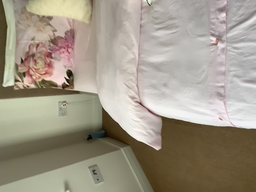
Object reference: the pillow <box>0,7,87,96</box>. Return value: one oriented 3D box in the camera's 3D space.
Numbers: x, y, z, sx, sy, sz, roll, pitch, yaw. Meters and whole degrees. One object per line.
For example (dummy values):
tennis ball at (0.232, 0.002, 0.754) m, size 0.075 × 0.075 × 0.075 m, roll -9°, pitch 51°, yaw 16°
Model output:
pillow at (-0.610, -0.340, 1.600) m, size 0.150 × 0.440 × 0.560 m, roll 2°, pitch 113°, yaw 45°
